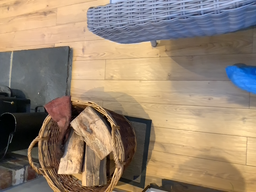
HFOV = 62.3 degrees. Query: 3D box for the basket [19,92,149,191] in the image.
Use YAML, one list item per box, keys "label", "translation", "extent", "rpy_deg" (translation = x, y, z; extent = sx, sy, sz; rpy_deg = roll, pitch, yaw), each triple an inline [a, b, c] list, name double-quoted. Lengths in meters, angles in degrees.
- label: "basket"
  translation: [-0.230, 0.240, 1.170]
  extent: [0.580, 0.360, 0.490]
  rpy_deg: [2, 88, 25]
